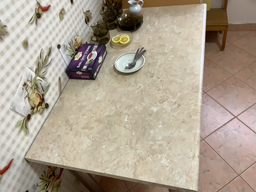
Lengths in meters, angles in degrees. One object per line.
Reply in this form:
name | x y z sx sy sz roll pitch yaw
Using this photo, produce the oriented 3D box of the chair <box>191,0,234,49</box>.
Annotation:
chair | 0.770 -0.760 1.950 0.300 0.520 0.350 7 52 19
